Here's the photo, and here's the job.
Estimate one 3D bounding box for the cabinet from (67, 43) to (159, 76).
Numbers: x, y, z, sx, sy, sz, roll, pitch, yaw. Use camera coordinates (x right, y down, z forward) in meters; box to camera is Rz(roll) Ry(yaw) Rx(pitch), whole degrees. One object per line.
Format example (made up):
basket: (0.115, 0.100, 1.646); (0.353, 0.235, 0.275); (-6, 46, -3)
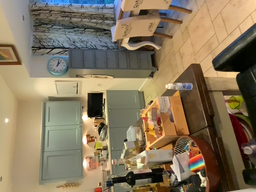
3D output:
cabinet: (-0.280, -0.650, 3.880); (0.360, 1.610, 0.390); (124, 143, -64)

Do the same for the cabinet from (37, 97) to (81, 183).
cabinet: (-1.360, 0.840, 4.290); (0.340, 0.780, 1.640); (125, 142, -65)
